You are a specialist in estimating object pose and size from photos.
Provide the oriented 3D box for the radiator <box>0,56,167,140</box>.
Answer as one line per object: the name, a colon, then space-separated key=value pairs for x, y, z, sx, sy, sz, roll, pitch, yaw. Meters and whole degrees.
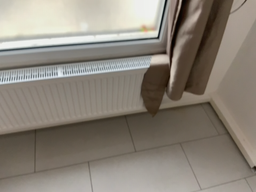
radiator: x=-0.380 y=0.030 z=1.250 sx=1.190 sy=0.450 sz=0.080 roll=-9 pitch=51 yaw=-13
